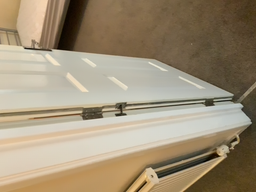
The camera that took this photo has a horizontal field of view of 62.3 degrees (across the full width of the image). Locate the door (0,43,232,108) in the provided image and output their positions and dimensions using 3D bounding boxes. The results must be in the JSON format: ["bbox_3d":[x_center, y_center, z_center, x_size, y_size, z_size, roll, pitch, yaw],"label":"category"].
[{"bbox_3d":[-0.340,-0.140,1.030,0.780,1.930,0.040,33,117,47],"label":"door"}]
